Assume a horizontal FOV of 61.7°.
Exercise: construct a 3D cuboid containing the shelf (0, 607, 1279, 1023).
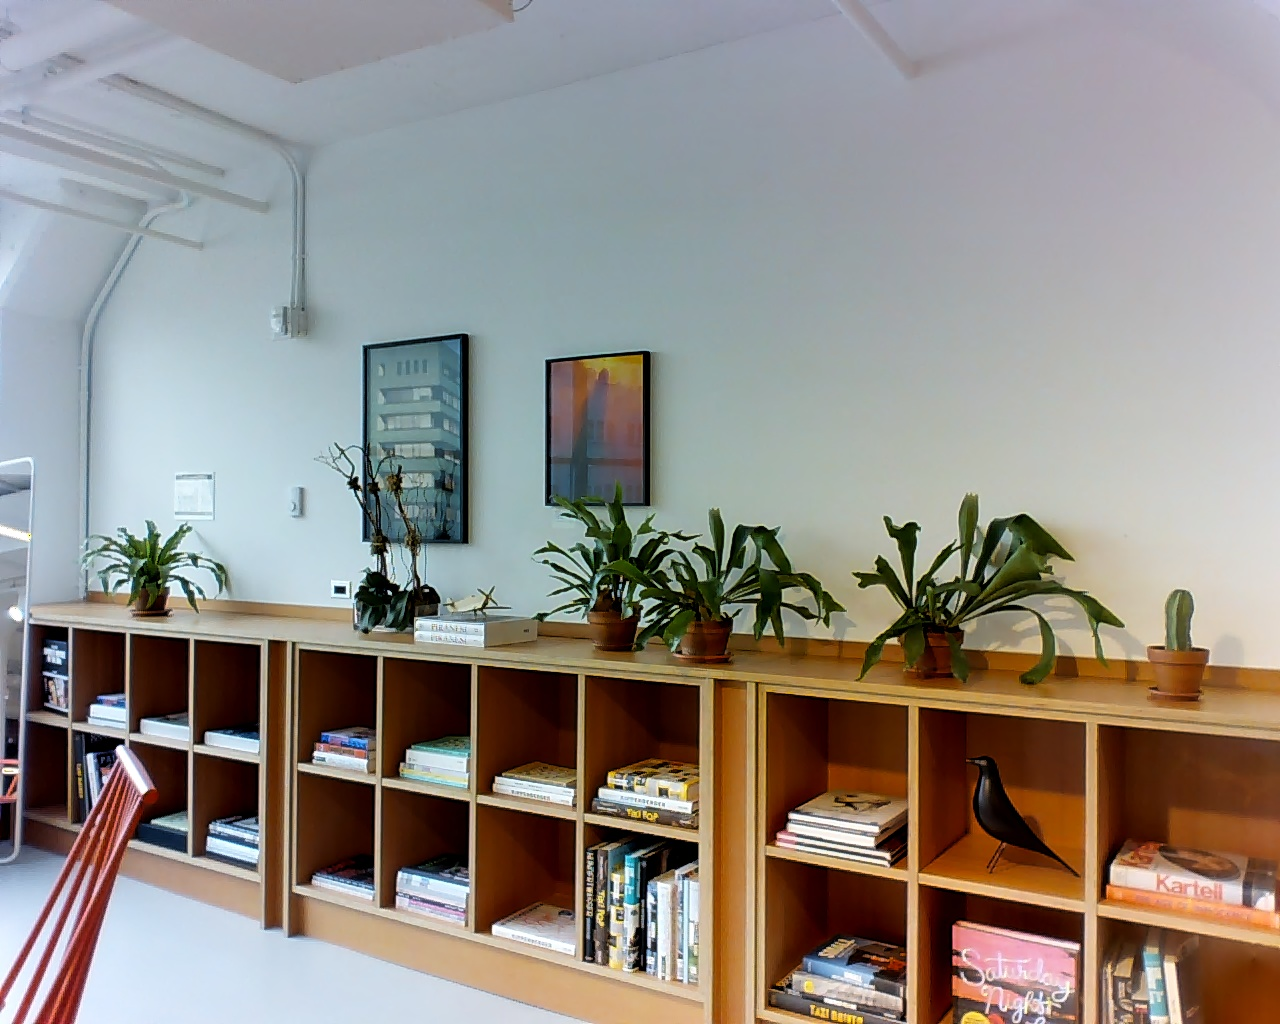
[{"bbox_3d":[-0.340,0.950,3.420,5.179,1.060,0.520,0,-1,31],"label":"shelf"}]
